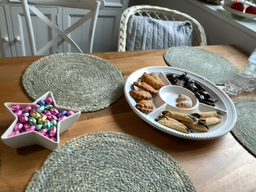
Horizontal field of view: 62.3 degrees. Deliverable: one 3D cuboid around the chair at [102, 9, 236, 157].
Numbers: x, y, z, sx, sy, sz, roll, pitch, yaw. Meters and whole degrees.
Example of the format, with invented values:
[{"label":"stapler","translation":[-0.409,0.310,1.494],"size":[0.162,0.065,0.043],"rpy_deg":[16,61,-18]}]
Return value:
[{"label":"chair","translation":[0.180,-0.090,1.530],"size":[0.610,0.760,0.640],"rpy_deg":[8,37,-7]}]
